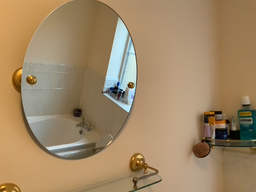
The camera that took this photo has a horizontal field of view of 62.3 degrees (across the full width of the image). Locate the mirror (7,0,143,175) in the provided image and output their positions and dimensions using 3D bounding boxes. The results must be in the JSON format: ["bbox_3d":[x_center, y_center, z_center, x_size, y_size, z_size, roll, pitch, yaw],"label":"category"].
[{"bbox_3d":[-0.140,-0.070,0.750,0.500,0.570,0.020,0,-1,-39],"label":"mirror"}]

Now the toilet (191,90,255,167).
[{"bbox_3d":[0.530,0.140,1.100,0.310,0.330,0.250,0,-1,-40],"label":"toilet"}]
